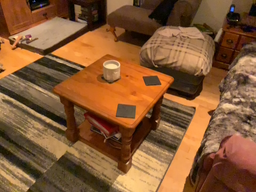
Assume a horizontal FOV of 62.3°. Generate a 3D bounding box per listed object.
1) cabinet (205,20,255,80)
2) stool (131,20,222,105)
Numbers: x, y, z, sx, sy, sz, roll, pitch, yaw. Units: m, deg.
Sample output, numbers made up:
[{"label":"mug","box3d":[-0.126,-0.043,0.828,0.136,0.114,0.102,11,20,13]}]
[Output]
[{"label":"cabinet","box3d":[1.200,-0.530,2.400,0.400,0.460,0.420,25,43,25]},{"label":"stool","box3d":[0.490,-0.380,2.150,0.660,0.470,0.660,19,41,19]}]
